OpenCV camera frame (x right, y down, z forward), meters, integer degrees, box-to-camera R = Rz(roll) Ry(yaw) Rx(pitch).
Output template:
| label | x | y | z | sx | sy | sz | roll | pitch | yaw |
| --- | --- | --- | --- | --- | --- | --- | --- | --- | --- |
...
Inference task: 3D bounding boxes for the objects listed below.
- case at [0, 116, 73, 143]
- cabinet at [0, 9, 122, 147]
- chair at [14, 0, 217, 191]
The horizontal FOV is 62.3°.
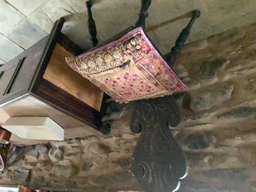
| label | x | y | z | sx | sy | sz | roll | pitch | yaw |
| --- | --- | --- | --- | --- | --- | --- | --- | --- | --- |
| case | -0.560 | 0.210 | 1.310 | 0.330 | 0.050 | 0.300 | -1 | 149 | 15 |
| cabinet | -0.680 | -0.020 | 1.590 | 1.060 | 0.580 | 0.580 | -14 | 144 | 33 |
| chair | 0.040 | -0.060 | 0.980 | 0.490 | 0.920 | 0.560 | -14 | 144 | 33 |
